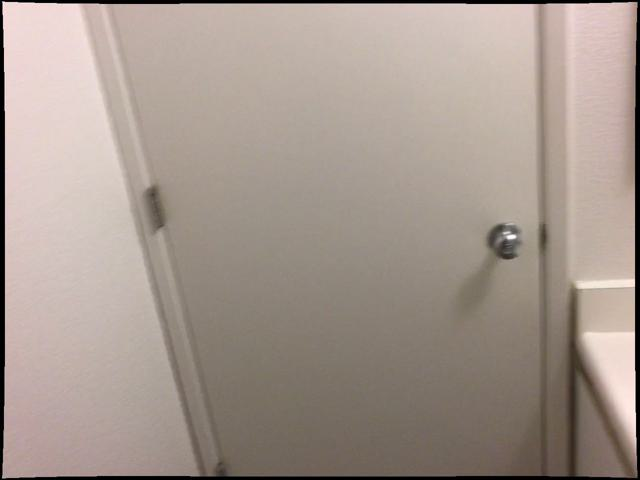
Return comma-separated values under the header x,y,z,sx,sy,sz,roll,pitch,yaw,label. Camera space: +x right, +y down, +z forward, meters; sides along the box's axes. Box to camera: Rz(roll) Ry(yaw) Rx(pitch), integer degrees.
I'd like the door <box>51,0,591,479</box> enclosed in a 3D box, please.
x,y,z,sx,sy,sz,roll,pitch,yaw,label
0.080,0.231,1.320,0.968,1.604,0.100,-6,18,13,door
